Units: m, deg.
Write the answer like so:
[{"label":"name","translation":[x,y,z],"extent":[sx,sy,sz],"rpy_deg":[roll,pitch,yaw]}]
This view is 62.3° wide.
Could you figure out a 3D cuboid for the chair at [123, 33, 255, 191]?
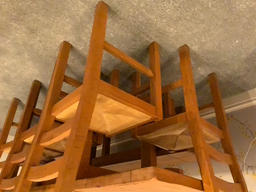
[{"label":"chair","translation":[0.300,0.230,1.170],"extent":[0.470,0.920,0.450],"rpy_deg":[-25,143,38]}]
